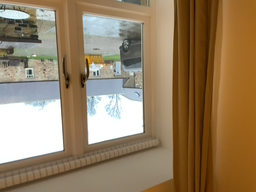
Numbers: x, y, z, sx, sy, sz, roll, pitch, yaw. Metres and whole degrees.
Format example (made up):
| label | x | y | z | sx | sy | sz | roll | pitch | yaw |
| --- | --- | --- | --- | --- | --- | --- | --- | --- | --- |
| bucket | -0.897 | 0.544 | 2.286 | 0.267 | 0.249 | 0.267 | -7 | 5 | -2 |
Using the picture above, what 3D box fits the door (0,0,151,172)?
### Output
| label | x | y | z | sx | sy | sz | roll | pitch | yaw |
| --- | --- | --- | --- | --- | --- | --- | --- | --- | --- |
| door | -0.370 | -0.610 | 1.250 | 1.250 | 1.910 | 0.110 | -7 | -172 | -37 |
